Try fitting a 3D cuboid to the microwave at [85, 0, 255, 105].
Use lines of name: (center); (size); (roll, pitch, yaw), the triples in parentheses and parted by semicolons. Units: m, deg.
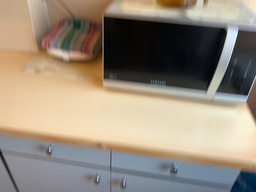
microwave: (0.140, -0.220, 0.790); (0.480, 0.270, 0.370); (8, 37, 6)
